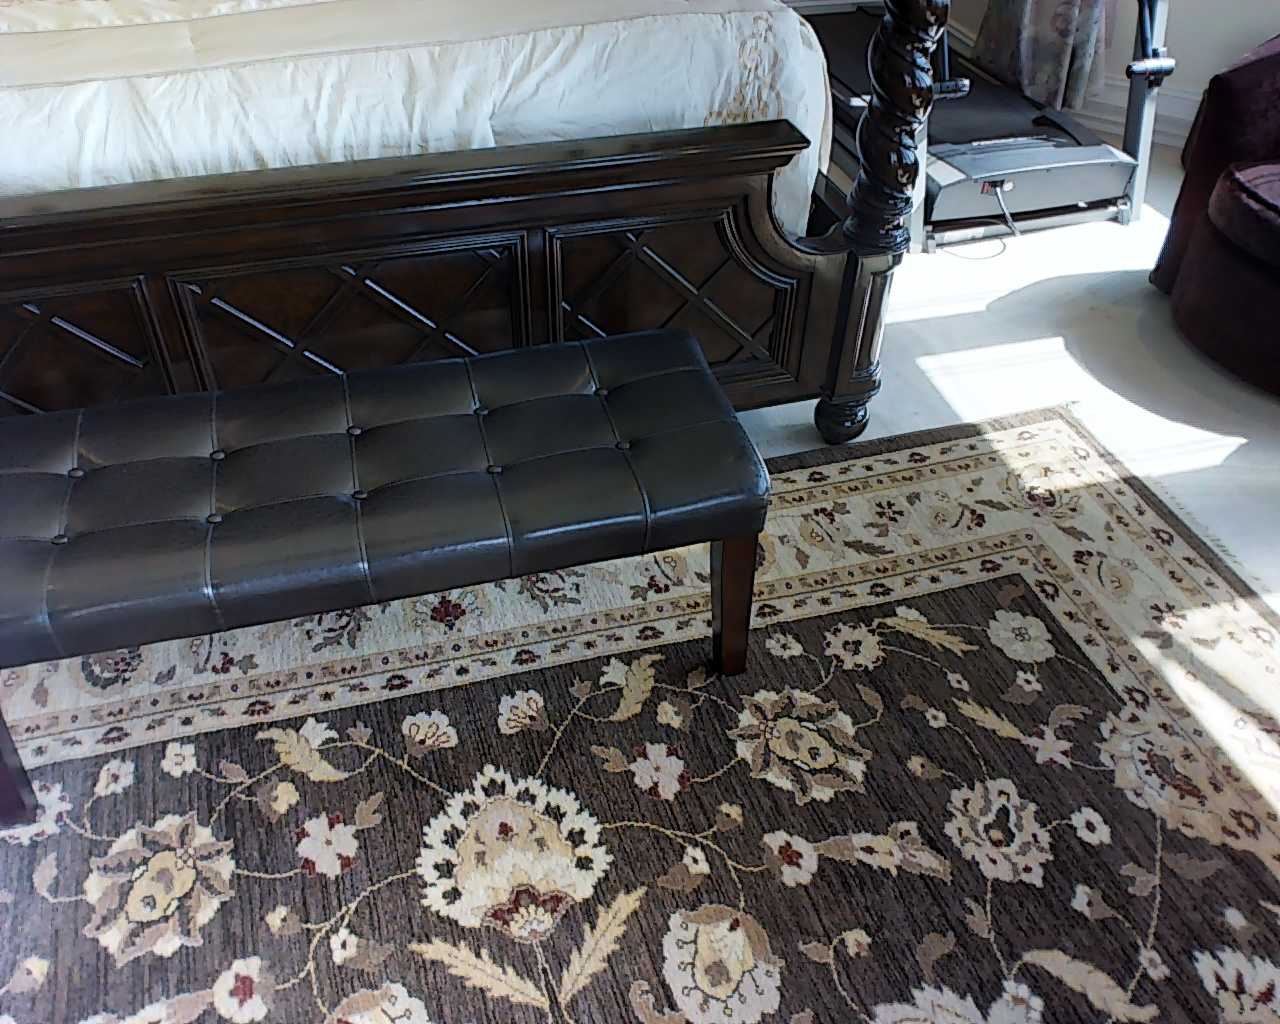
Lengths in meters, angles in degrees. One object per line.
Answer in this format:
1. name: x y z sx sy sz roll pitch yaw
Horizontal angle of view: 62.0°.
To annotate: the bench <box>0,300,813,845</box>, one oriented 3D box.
1. bench: -0.440 0.060 1.750 1.290 0.450 0.500 -11 43 -13
